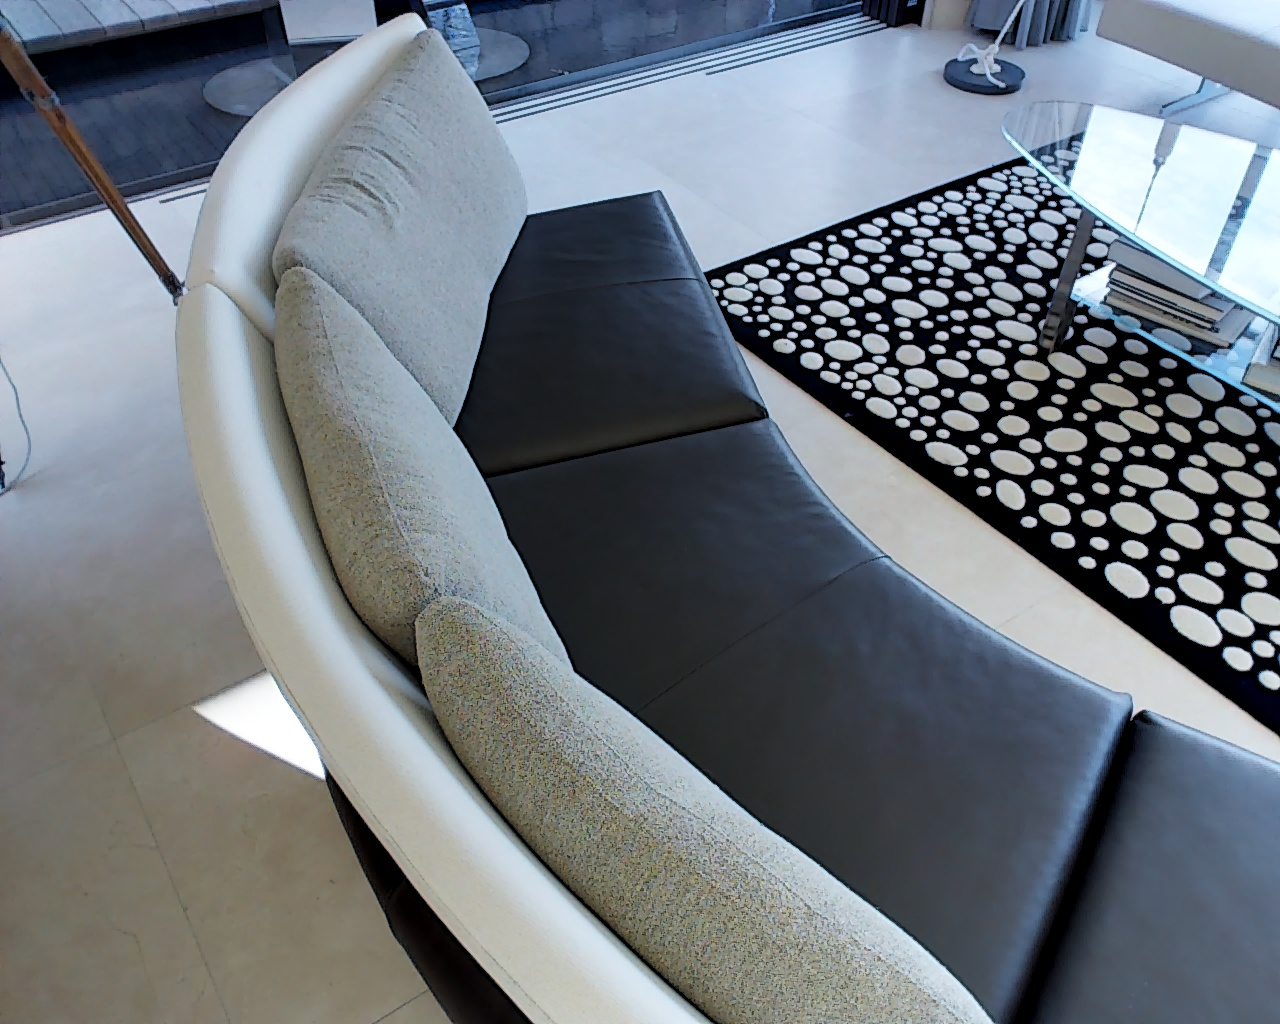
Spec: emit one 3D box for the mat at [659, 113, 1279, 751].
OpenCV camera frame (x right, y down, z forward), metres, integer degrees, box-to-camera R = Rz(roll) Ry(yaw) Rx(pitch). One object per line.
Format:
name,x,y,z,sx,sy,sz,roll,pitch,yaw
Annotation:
mat,1.620,-0.240,2.570,1.870,0.100,2.780,-25,49,-26
